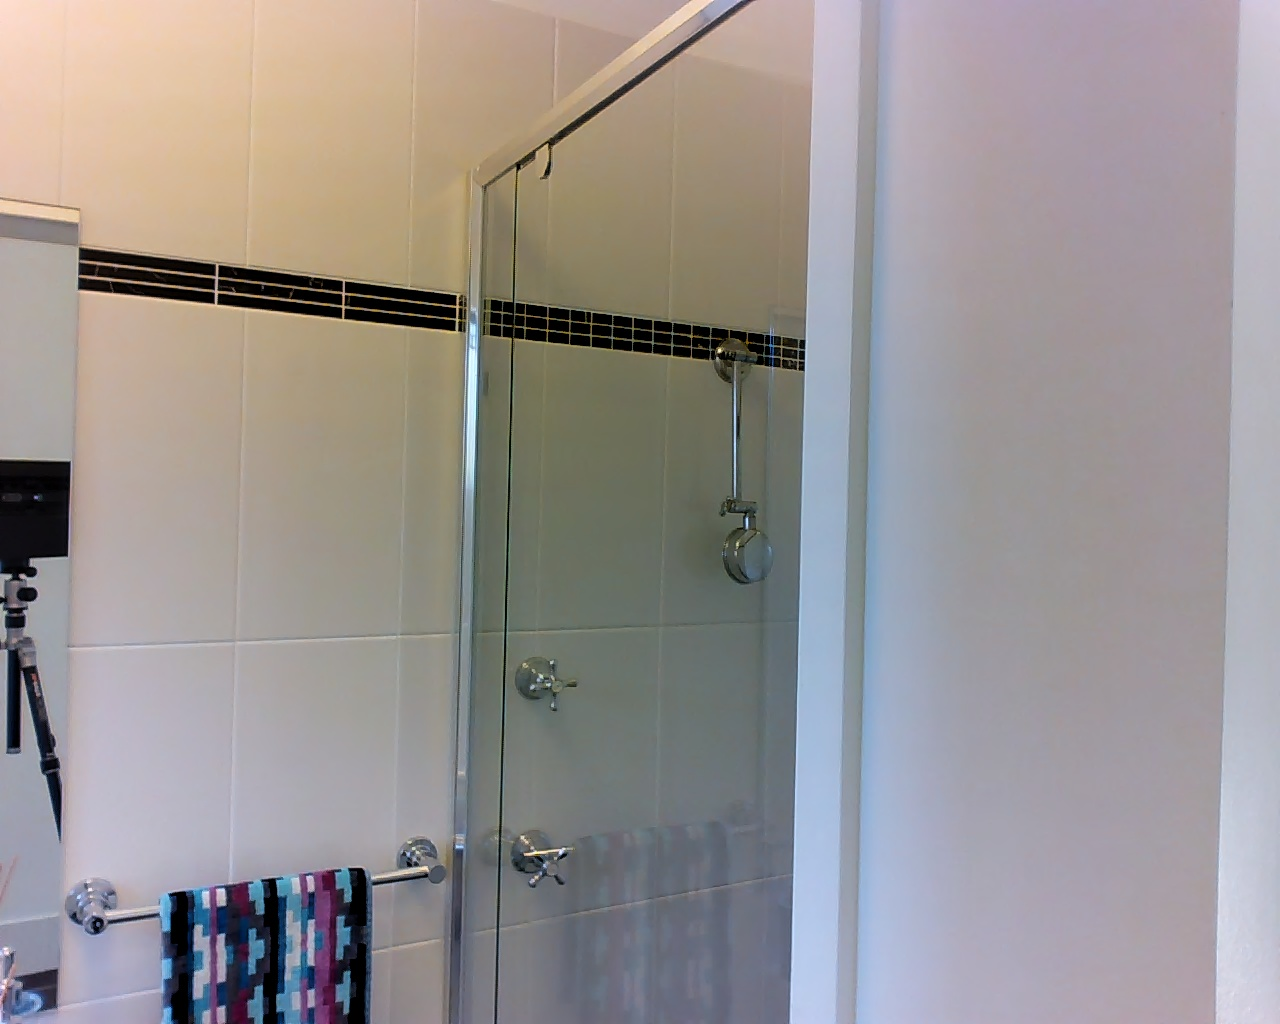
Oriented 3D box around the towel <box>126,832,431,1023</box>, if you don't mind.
[{"bbox_3d":[-0.420,0.640,1.240,0.310,0.460,0.140,1,-1,-30],"label":"towel"}]
